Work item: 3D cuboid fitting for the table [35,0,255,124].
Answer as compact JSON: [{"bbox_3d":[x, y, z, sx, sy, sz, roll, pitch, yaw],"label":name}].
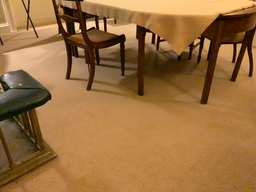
[{"bbox_3d":[0.080,-0.770,2.400,1.250,0.710,2.300,-25,40,-35],"label":"table"}]
